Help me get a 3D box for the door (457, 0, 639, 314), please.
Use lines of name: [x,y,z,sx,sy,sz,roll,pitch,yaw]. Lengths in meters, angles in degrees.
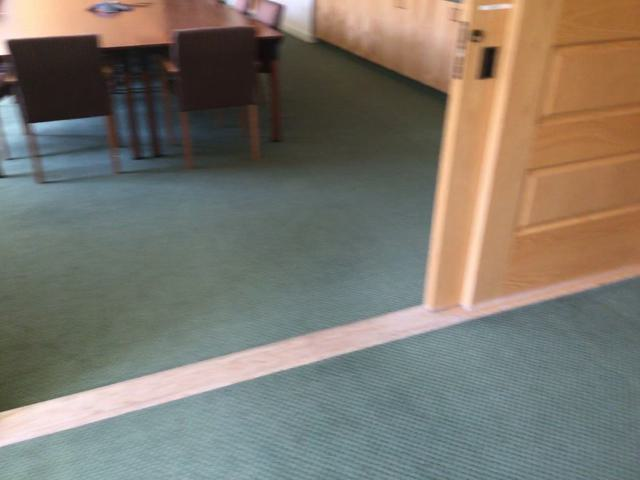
door: [1.010,-0.640,1.910,0.950,1.880,0.110,-10,31,-17]
